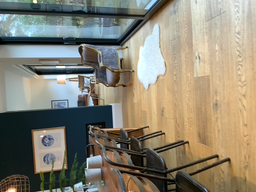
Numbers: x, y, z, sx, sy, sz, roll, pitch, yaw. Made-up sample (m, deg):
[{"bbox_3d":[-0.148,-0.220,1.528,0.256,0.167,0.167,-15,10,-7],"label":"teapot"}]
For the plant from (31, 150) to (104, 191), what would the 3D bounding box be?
[{"bbox_3d":[-0.770,1.020,2.780,0.590,0.810,0.350,-172,79,-74],"label":"plant"}]
